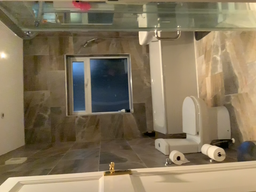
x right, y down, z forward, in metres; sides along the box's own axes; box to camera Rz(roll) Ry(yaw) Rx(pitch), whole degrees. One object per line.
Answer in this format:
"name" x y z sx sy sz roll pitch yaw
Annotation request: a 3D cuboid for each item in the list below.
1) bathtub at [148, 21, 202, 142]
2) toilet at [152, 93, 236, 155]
"bathtub" 0.710 -0.210 3.430 0.680 0.550 1.750 150 117 -82
"toilet" 0.730 0.300 2.440 0.400 0.790 0.600 151 117 -82
